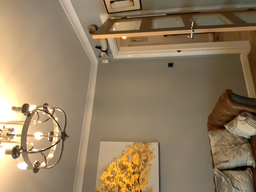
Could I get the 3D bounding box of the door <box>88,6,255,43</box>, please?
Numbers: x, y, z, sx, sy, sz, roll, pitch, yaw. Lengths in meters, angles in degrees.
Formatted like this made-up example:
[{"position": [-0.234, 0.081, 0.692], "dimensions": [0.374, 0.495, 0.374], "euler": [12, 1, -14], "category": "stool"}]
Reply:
[{"position": [0.680, -0.790, 2.270], "dimensions": [0.840, 2.050, 0.100], "euler": [-79, -14, -56], "category": "door"}]
